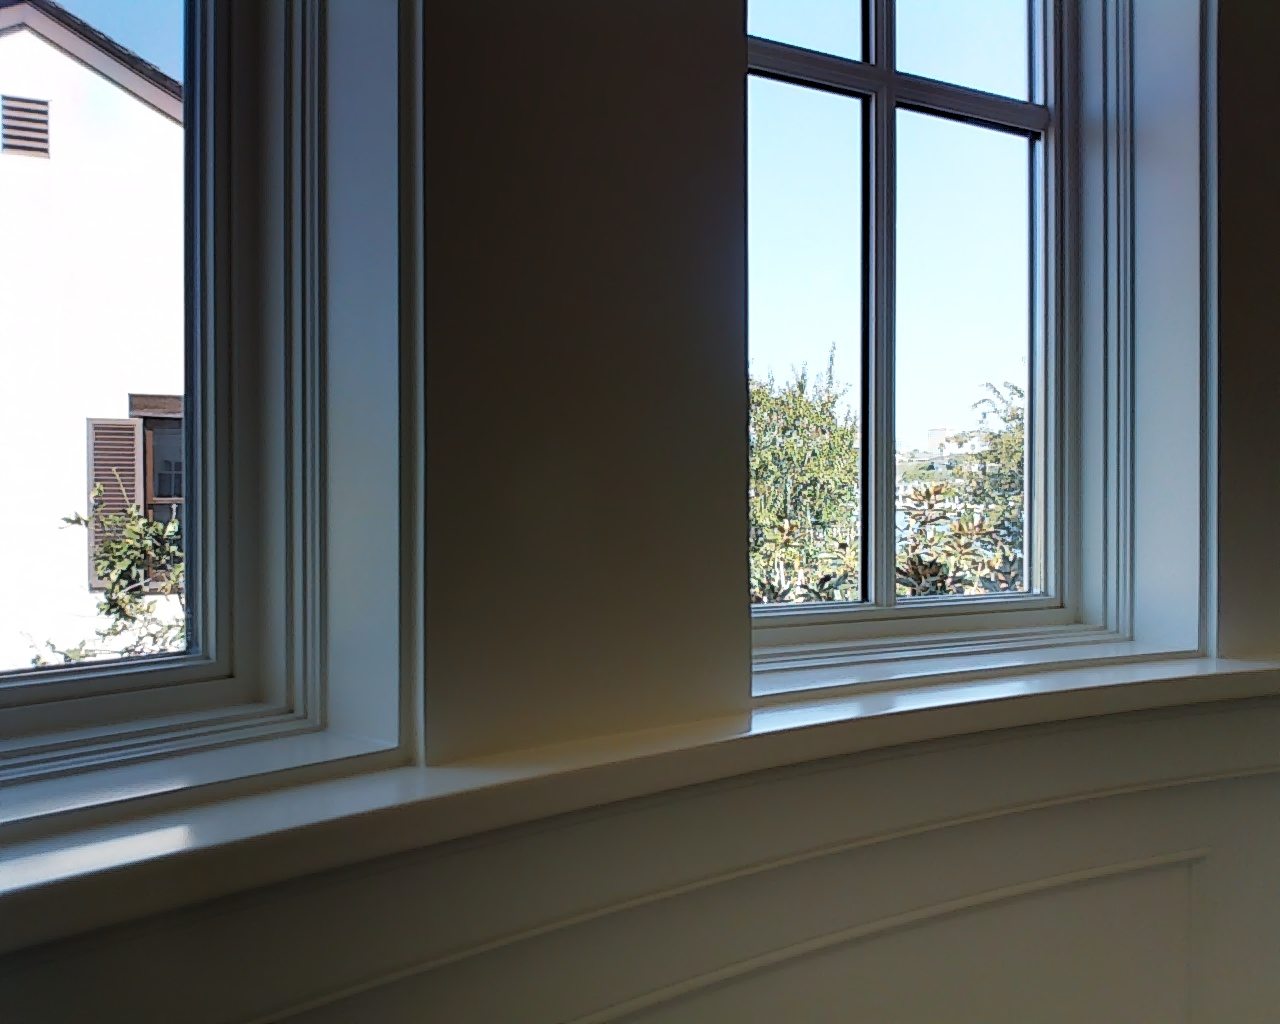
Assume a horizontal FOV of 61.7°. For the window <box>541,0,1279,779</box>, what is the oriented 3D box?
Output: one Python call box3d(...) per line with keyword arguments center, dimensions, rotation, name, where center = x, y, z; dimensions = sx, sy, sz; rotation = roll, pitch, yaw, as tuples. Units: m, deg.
box3d(center=(0.280, -0.450, 1.080), dimensions=(0.630, 1.261, 0.440), rotation=(-1, 1, -30), name="window")
